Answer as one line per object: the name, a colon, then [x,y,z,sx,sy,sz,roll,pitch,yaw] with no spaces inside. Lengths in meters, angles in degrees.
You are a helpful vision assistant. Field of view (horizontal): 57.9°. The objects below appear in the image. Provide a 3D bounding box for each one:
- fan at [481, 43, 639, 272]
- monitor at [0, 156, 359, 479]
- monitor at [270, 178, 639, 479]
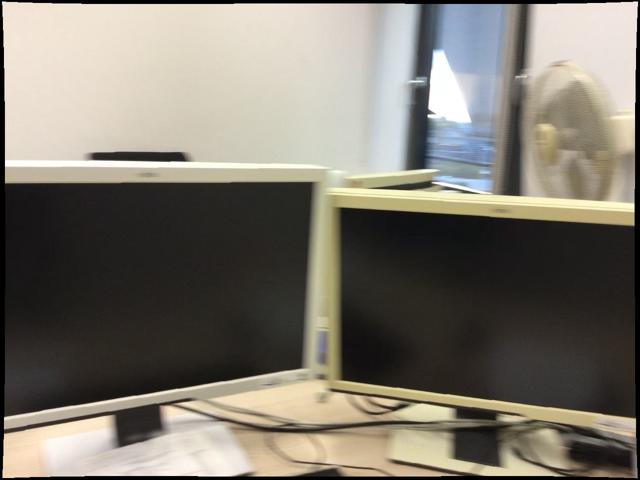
fan: [0.759,-0.240,1.660,0.350,0.551,0.420,-4,12,-23]
monitor: [-0.310,0.140,0.890,0.659,0.510,0.300,-4,12,-23]
monitor: [0.260,0.140,0.940,0.609,0.440,0.220,-3,4,13]
